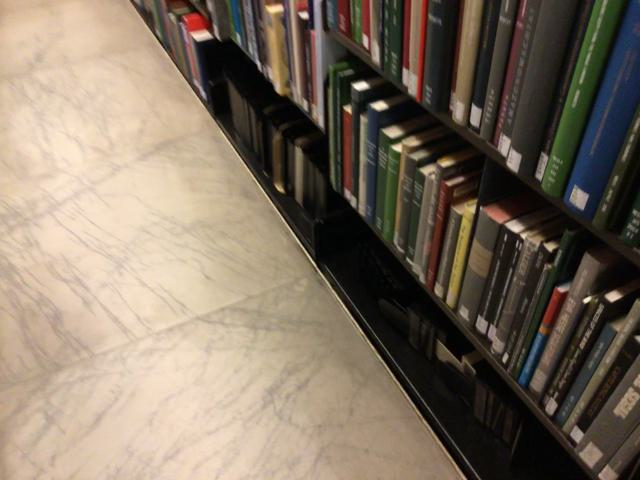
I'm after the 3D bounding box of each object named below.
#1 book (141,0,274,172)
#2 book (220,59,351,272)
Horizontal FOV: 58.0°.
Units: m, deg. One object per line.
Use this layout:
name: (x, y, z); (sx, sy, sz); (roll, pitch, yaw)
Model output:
book: (-0.500, -0.760, 2.320); (0.150, 0.390, 1.180); (-20, 46, -18)
book: (-0.110, -0.240, 1.740); (0.150, 0.370, 0.570); (-20, 46, -18)
